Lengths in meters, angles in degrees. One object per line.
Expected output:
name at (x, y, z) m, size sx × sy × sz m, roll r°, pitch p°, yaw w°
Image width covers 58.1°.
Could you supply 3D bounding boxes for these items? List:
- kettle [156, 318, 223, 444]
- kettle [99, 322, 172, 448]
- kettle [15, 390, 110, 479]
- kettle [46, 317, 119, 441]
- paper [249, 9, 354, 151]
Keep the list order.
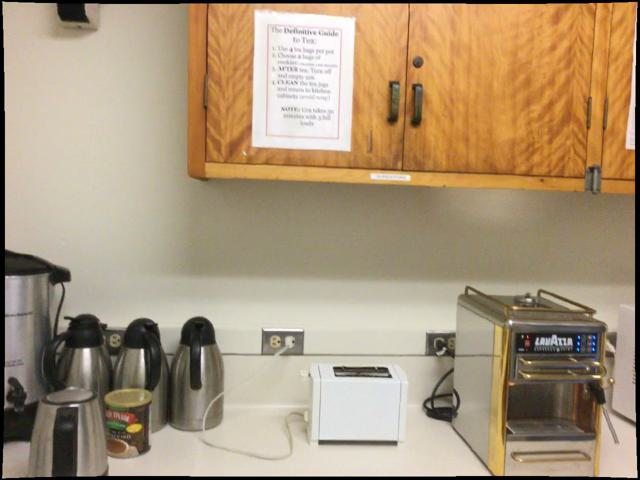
kettle at (-0.329, 0.351, 1.480) m, size 0.140 × 0.261 × 0.200 m, roll -1°, pitch 5°, yaw -6°
kettle at (-0.449, 0.351, 1.420) m, size 0.140 × 0.271 × 0.130 m, roll -1°, pitch 5°, yaw -6°
kettle at (-0.469, 0.411, 1.070) m, size 0.100 × 0.201 × 0.190 m, roll -1°, pitch 5°, yaw -6°
kettle at (-0.588, 0.341, 1.440) m, size 0.130 × 0.271 × 0.130 m, roll -1°, pitch 5°, yaw -6°
paper at (-0.040, -0.351, 1.280) m, size 0.229 × 0.301 × 0.020 m, roll -1°, pitch 5°, yaw -6°
